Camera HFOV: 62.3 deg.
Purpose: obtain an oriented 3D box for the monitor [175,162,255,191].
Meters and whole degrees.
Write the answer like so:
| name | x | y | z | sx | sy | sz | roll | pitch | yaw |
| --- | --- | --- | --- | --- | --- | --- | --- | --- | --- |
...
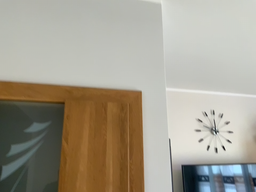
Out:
| name | x | y | z | sx | sy | sz | roll | pitch | yaw |
| --- | --- | --- | --- | --- | --- | --- | --- | --- | --- |
| monitor | 1.150 | 1.210 | 2.550 | 1.220 | 0.760 | 0.060 | 4 | -16 | -16 |
